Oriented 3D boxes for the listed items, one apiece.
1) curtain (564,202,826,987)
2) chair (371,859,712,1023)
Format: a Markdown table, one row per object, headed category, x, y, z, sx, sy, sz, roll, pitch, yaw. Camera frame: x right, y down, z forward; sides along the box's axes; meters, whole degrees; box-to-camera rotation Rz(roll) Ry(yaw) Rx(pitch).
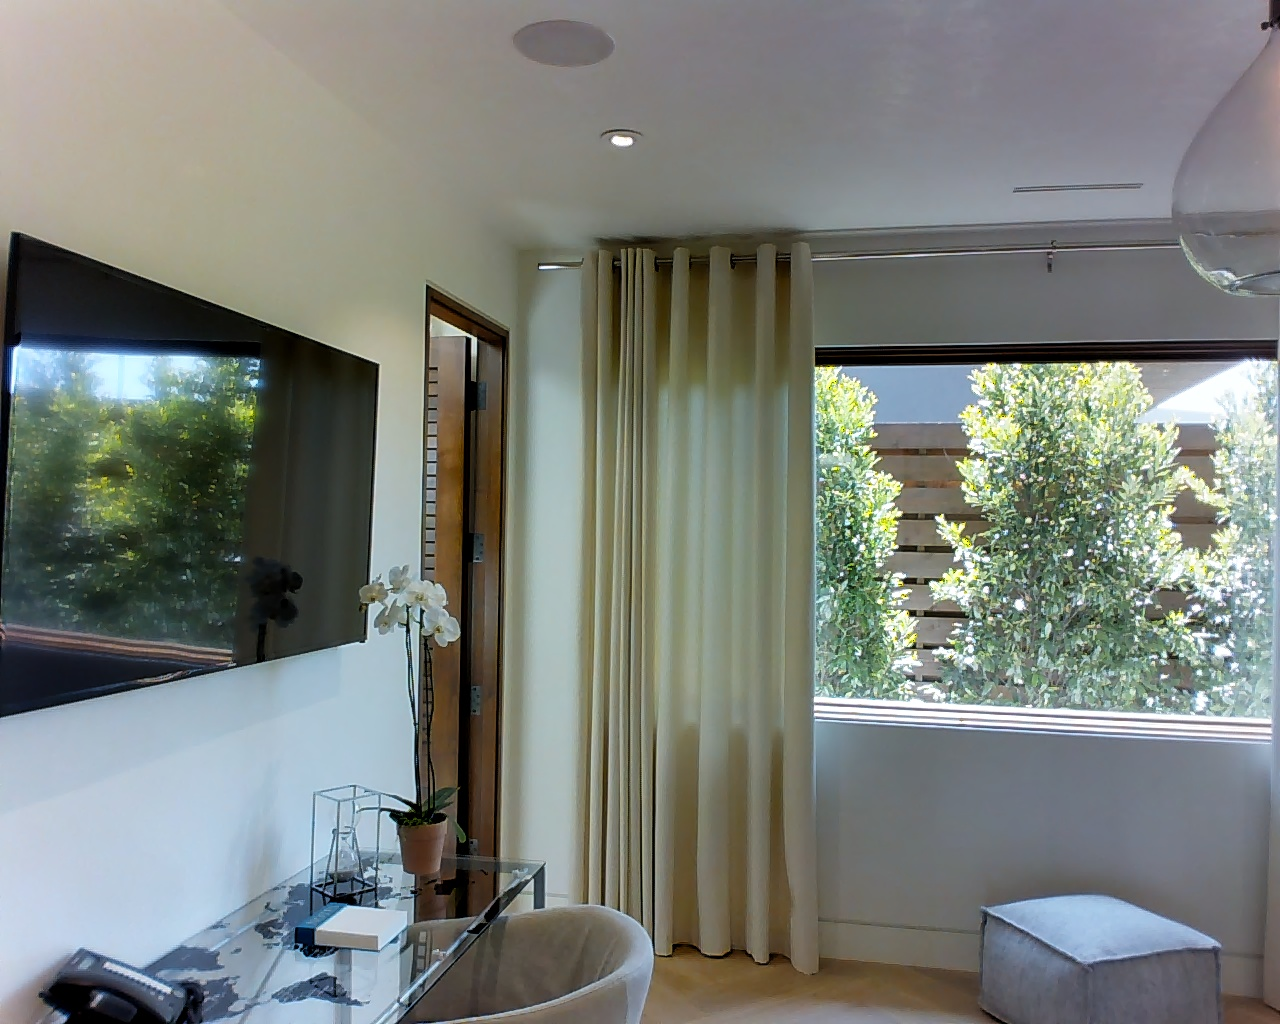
| category | x | y | z | sx | sy | sz | roll | pitch | yaw |
| --- | --- | --- | --- | --- | --- | --- | --- | --- | --- |
| curtain | 0.240 | 0.300 | 4.270 | 1.030 | 2.820 | 0.280 | 1 | -1 | -34 |
| chair | -0.250 | 1.280 | 2.390 | 0.660 | 0.790 | 0.630 | 1 | -1 | -12 |
